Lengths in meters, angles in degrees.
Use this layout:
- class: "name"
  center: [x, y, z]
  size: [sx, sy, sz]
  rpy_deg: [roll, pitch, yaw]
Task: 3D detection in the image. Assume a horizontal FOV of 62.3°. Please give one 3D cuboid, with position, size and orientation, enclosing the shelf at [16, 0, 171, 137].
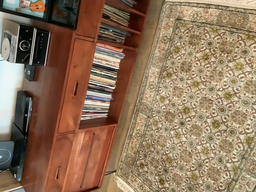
- class: "shelf"
  center: [-0.220, -0.400, 1.420]
  size: [0.530, 0.680, 1.110]
  rpy_deg: [28, 109, 38]
